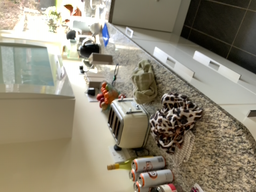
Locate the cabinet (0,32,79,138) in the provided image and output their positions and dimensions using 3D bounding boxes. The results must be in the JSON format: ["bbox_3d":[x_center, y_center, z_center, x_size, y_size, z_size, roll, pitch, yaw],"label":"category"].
[{"bbox_3d":[-0.870,-0.170,1.630,1.100,0.740,0.340,-128,44,-52],"label":"cabinet"}]
